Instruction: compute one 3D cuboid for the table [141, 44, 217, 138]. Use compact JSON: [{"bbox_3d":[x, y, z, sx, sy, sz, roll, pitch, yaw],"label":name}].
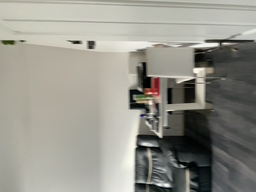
[{"bbox_3d":[0.680,-0.110,3.140,0.870,0.780,1.180,-143,52,-78],"label":"table"}]
